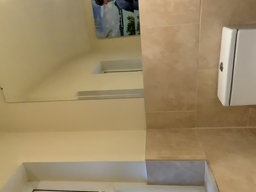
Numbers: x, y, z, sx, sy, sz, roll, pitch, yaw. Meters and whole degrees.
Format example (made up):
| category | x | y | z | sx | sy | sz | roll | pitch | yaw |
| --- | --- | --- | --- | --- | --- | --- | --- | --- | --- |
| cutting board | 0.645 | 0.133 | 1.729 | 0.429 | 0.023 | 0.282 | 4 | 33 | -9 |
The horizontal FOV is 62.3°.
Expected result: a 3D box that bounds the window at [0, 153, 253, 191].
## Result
| category | x | y | z | sx | sy | sz | roll | pitch | yaw |
| --- | --- | --- | --- | --- | --- | --- | --- | --- | --- |
| window | -0.050 | 0.530 | 1.000 | 0.520 | 1.180 | 0.210 | -78 | -16 | -64 |
